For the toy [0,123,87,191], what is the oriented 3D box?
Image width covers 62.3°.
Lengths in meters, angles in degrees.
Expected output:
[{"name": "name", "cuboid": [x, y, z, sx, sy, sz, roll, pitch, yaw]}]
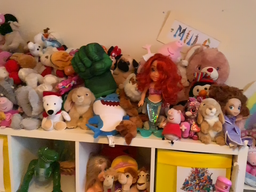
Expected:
[{"name": "toy", "cuboid": [-0.450, 0.350, 1.200, 0.330, 0.290, 0.310, 3, 9, 12]}]
